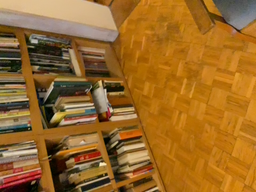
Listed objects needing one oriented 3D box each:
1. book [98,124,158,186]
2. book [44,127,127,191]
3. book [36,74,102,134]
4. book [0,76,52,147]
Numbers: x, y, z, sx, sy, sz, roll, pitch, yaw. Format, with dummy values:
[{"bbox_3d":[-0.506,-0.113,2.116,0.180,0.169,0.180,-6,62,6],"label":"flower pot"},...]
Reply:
[{"bbox_3d":[-0.010,0.450,1.660,0.250,0.270,0.360,-43,60,42],"label":"book"},{"bbox_3d":[-0.300,0.470,1.440,0.300,0.380,0.380,-44,60,42],"label":"book"},{"bbox_3d":[-0.430,0.050,1.530,0.230,0.340,0.330,-42,60,42],"label":"book"},{"bbox_3d":[-0.720,0.090,1.290,0.200,0.380,0.370,-43,60,42],"label":"book"}]
